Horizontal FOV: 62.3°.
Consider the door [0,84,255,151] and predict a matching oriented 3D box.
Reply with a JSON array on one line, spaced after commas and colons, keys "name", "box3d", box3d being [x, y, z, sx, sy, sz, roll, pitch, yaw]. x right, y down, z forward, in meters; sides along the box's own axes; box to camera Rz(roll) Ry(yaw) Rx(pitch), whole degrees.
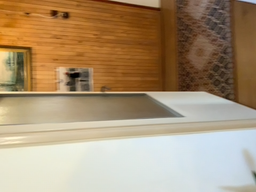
[{"name": "door", "box3d": [-0.080, 0.060, 1.590, 1.030, 1.950, 0.140, -151, 62, -67]}]
